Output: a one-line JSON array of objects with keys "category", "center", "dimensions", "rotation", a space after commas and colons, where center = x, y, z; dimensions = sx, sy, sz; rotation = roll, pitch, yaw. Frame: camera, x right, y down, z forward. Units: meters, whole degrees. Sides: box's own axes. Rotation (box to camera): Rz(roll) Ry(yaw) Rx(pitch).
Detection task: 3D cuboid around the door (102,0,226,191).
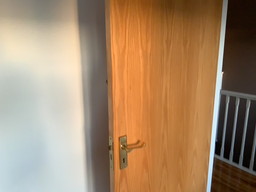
[{"category": "door", "center": [0.230, 0.230, 1.140], "dimensions": [0.780, 1.990, 0.060], "rotation": [-10, 16, -38]}]
